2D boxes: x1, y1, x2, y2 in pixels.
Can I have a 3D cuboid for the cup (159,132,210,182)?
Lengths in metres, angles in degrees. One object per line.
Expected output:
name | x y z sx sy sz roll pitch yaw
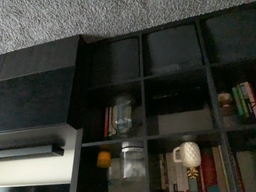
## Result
cup | 0.290 0.320 1.090 0.210 0.190 0.200 -9 149 15
